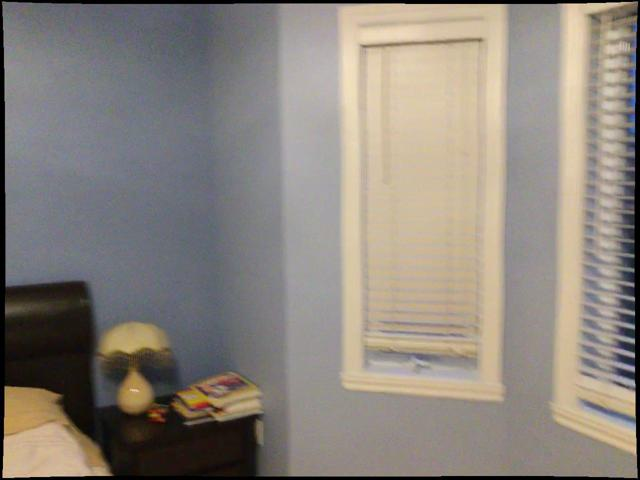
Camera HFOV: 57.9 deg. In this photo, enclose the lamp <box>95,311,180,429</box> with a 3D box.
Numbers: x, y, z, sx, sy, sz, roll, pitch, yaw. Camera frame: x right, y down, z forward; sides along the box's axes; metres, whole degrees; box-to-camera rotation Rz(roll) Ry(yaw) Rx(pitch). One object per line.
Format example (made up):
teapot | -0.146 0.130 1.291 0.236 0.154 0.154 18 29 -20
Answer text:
lamp | -0.829 0.571 2.620 0.280 0.400 0.310 -6 10 -29
